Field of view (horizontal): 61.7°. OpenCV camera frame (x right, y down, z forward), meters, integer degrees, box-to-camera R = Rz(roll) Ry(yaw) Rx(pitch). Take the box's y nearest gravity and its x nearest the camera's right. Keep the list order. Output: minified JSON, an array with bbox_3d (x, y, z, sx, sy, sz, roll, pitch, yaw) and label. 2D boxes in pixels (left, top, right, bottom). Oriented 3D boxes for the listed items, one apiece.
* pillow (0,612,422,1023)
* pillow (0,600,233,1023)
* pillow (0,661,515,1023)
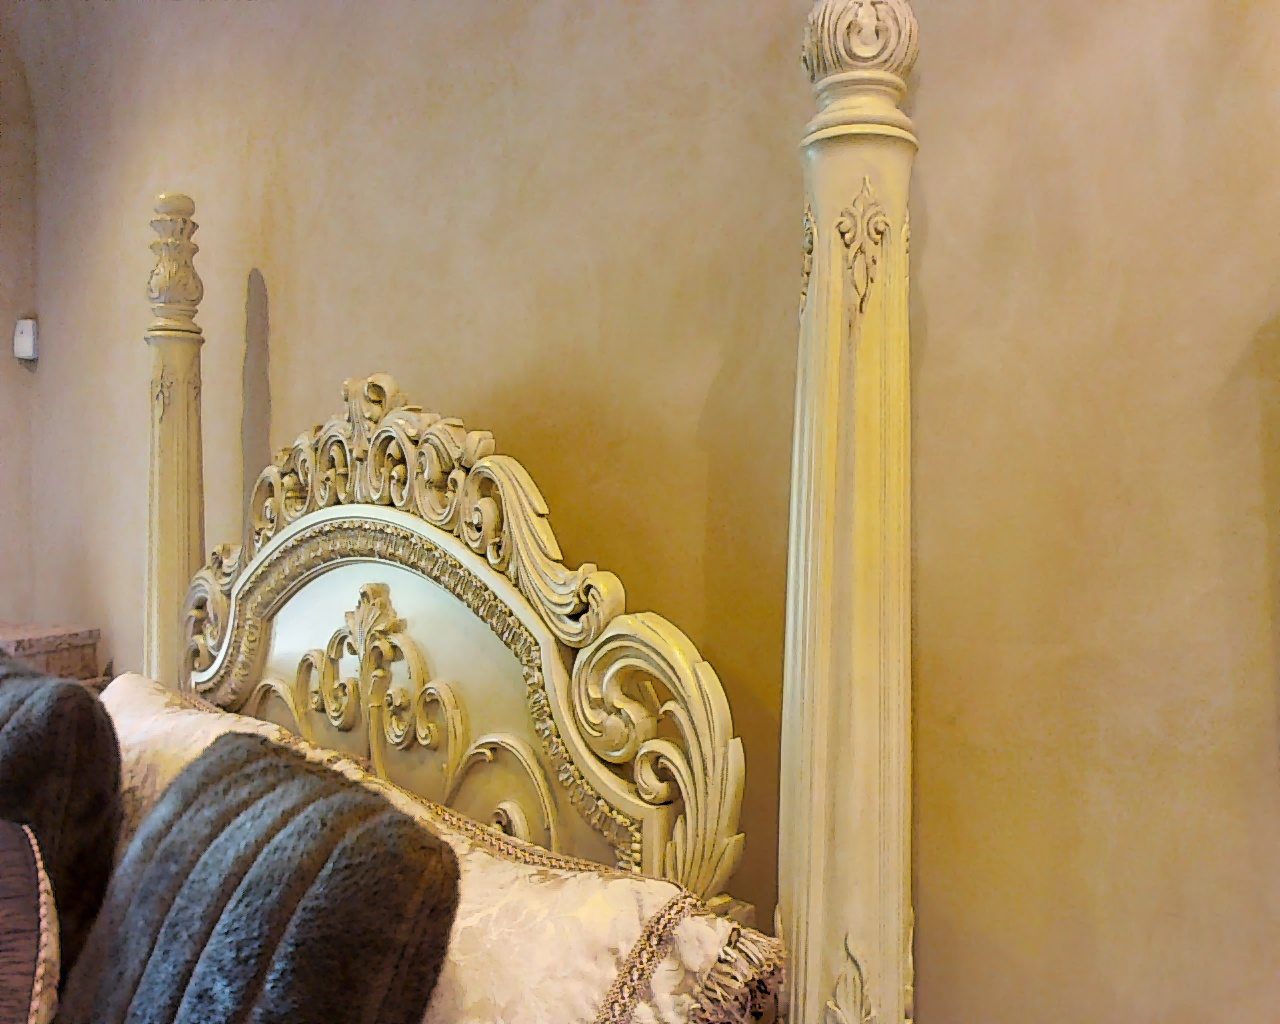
[{"bbox_3d":[-0.720,0.450,1.580,0.720,0.460,0.300,1,25,45],"label":"pillow"},{"bbox_3d":[-0.840,0.400,1.430,0.500,0.470,0.260,1,17,45],"label":"pillow"},{"bbox_3d":[-0.370,0.440,0.950,0.500,0.510,0.250,0,26,44],"label":"pillow"}]
